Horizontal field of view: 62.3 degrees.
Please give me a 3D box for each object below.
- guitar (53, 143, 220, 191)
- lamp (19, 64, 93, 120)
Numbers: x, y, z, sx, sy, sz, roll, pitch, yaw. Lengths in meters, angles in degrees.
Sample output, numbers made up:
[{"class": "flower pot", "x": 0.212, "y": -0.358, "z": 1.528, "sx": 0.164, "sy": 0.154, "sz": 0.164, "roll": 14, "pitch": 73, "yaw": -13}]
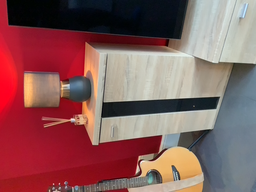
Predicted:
[{"class": "guitar", "x": 0.070, "y": 0.600, "z": 1.410, "sx": 0.190, "sy": 1.050, "sz": 0.460, "roll": 108, "pitch": 165, "yaw": -58}, {"class": "lamp", "x": -0.380, "y": -0.030, "z": 1.120, "sx": 0.190, "sy": 0.330, "sz": 0.220, "roll": -133, "pitch": 46, "yaw": -55}]
